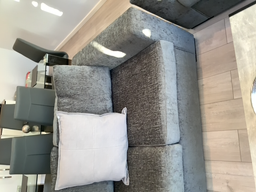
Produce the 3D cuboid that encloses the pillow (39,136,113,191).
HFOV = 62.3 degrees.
[{"bbox_3d":[-0.370,0.690,1.620,0.300,0.500,0.740,-8,76,25],"label":"pillow"}]

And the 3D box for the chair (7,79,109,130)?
[{"bbox_3d":[-0.790,0.150,2.480,0.540,0.990,0.420,-16,70,52],"label":"chair"}]

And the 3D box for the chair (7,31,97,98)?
[{"bbox_3d":[-0.990,-0.360,2.860,0.480,1.000,0.570,-18,68,51],"label":"chair"}]

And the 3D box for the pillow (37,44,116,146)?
[{"bbox_3d":[-0.370,0.040,1.750,0.310,0.580,0.700,-2,76,19],"label":"pillow"}]

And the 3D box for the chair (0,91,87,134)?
[{"bbox_3d":[-1.170,0.280,2.960,0.590,1.010,0.460,-16,70,52],"label":"chair"}]

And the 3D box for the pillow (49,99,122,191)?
[{"bbox_3d":[-0.270,0.370,1.530,0.230,0.550,0.550,-9,71,19],"label":"pillow"}]

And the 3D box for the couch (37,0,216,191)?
[{"bbox_3d":[-0.080,0.370,1.600,1.040,0.830,1.670,-18,69,51],"label":"couch"}]
